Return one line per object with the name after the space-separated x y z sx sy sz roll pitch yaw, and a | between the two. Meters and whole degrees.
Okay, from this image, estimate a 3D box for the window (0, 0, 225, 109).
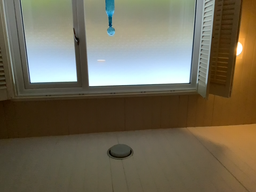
-0.110 -0.610 2.090 1.970 1.290 0.420 -3 -164 -9 | window
